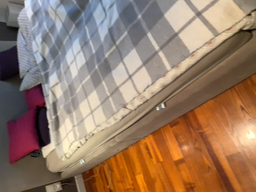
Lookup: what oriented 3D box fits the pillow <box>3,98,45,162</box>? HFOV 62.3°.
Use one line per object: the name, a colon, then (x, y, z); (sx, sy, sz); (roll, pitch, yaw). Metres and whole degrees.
pillow: (-0.970, 0.310, 1.950); (0.360, 0.210, 0.450); (-42, 61, 41)
